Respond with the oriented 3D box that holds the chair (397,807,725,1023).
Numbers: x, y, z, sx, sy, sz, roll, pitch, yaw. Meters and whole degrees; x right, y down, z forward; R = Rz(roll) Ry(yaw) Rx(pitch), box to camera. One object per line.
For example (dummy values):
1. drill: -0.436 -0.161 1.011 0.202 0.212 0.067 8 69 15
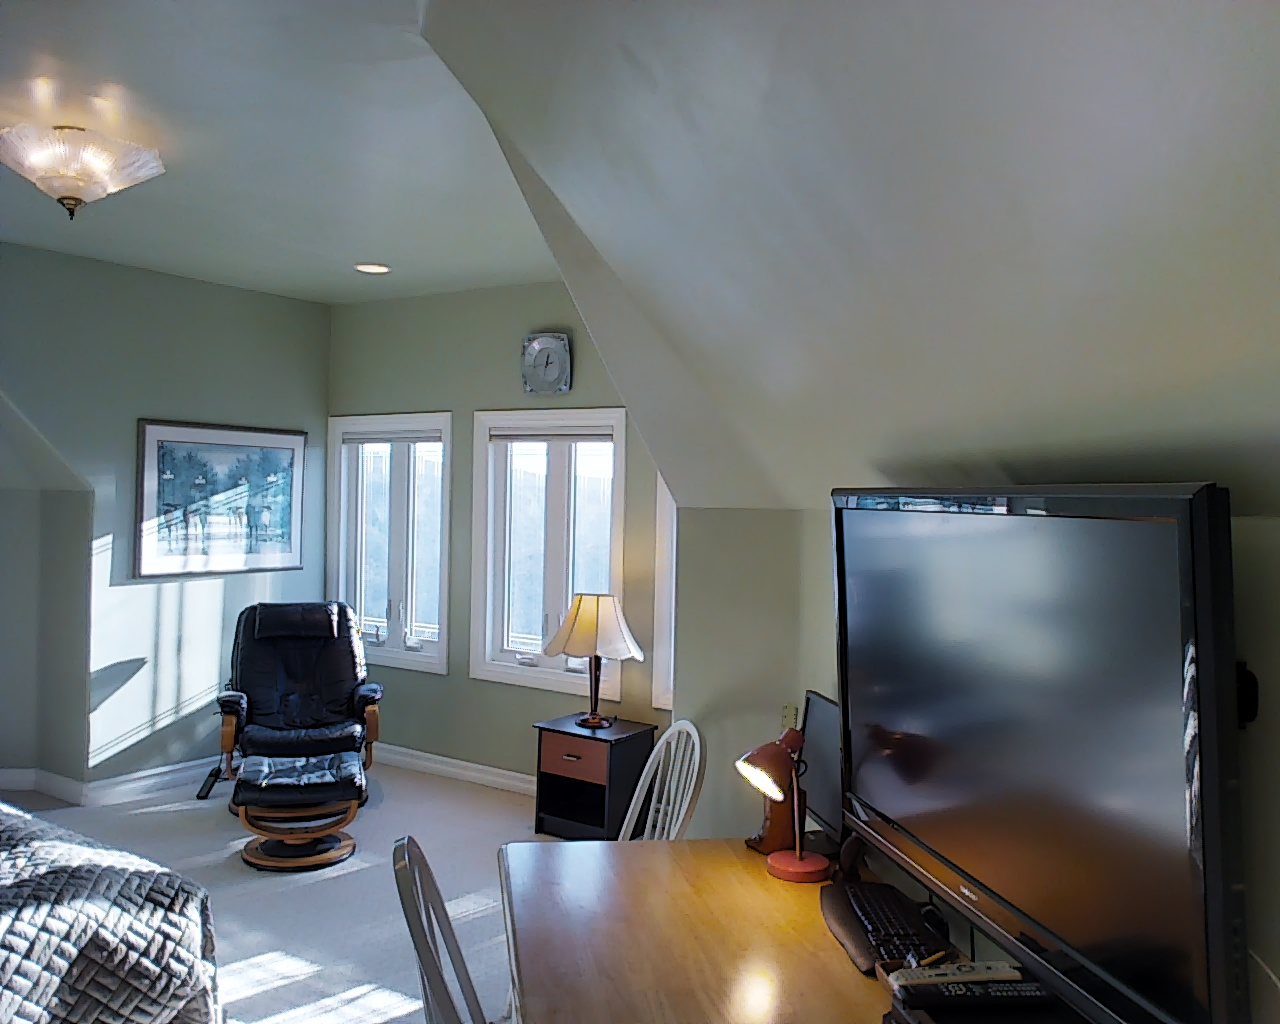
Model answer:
1. chair: -0.180 1.080 2.040 0.550 0.890 0.470 2 1 -11
